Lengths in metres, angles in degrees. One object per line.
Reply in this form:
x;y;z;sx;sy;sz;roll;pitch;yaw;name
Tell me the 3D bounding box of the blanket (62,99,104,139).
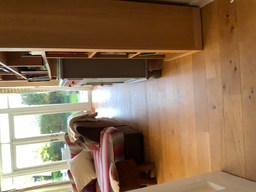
-0.770;0.340;3.520;0.780;0.540;0.540;180;86;-70;blanket
